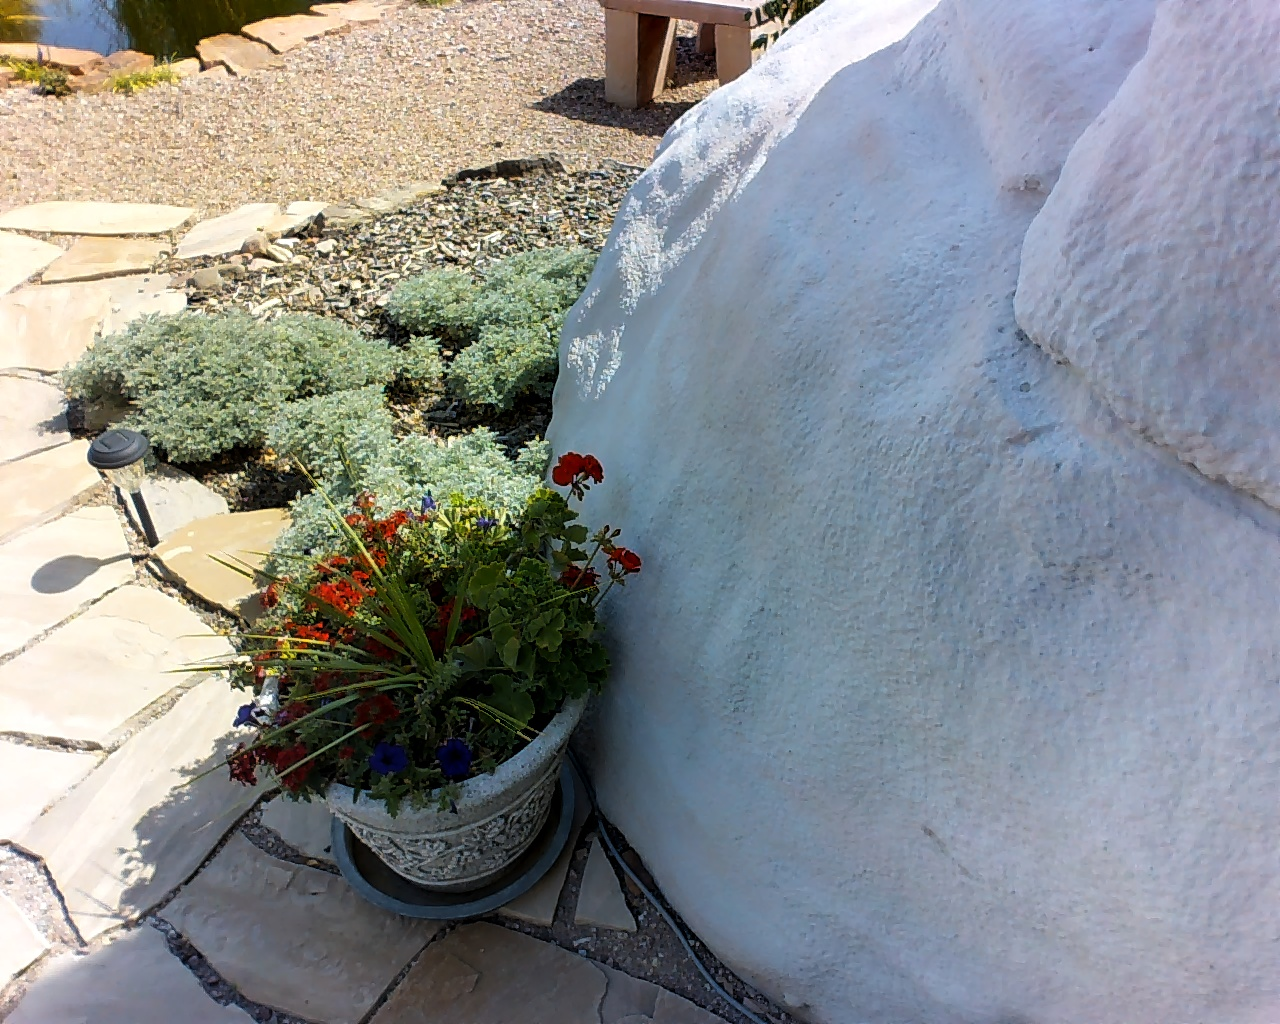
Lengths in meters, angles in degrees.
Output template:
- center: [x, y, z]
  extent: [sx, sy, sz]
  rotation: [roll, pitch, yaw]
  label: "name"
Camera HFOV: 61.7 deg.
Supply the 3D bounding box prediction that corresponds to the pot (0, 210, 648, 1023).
- center: [-0.290, 0.170, 1.340]
  extent: [0.470, 0.910, 0.400]
  rotation: [15, 45, 17]
  label: "pot"
